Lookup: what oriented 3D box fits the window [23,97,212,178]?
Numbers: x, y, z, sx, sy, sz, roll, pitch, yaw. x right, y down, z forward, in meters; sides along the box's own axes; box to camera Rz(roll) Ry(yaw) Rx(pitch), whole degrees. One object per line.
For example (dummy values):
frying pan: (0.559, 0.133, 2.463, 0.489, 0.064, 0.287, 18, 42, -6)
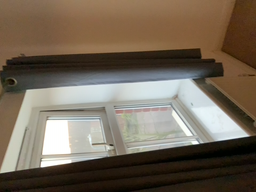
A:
window: (-0.070, 0.210, 1.420, 0.590, 1.050, 0.060, -113, 24, -56)
